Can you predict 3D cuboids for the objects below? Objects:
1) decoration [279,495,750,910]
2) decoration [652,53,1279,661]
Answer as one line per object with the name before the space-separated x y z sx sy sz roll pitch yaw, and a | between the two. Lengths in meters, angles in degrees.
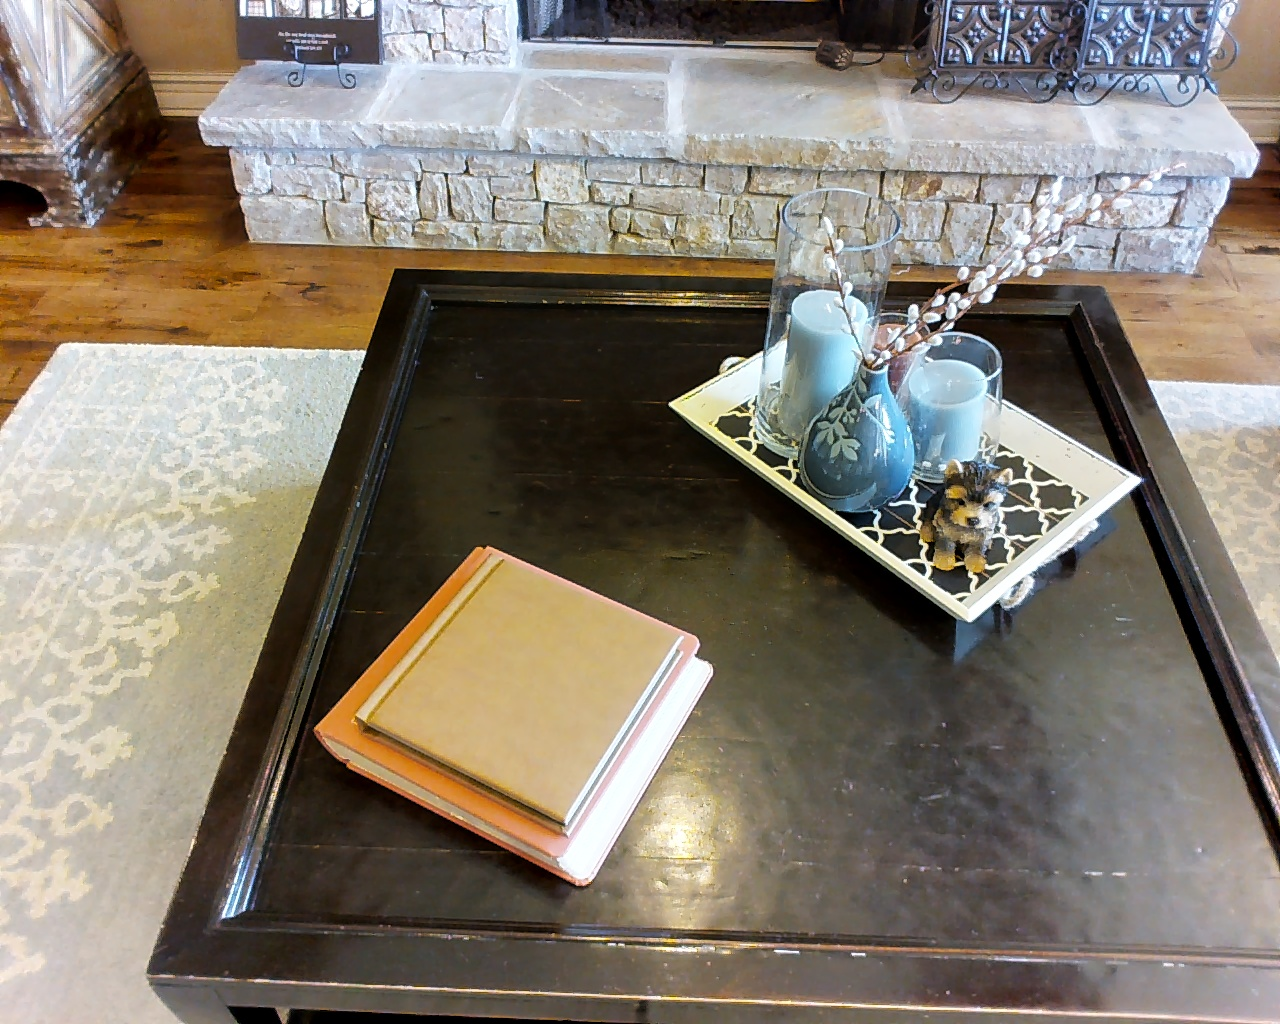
decoration | -0.130 0.190 1.220 0.390 0.100 0.350 22 49 20
decoration | 0.370 -0.230 1.400 0.410 0.440 0.600 -32 53 -28
